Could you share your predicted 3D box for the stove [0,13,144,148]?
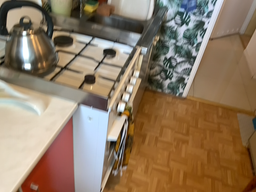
[{"bbox_3d":[-0.310,-0.130,1.010,0.640,0.230,0.550,16,39,7],"label":"stove"}]
